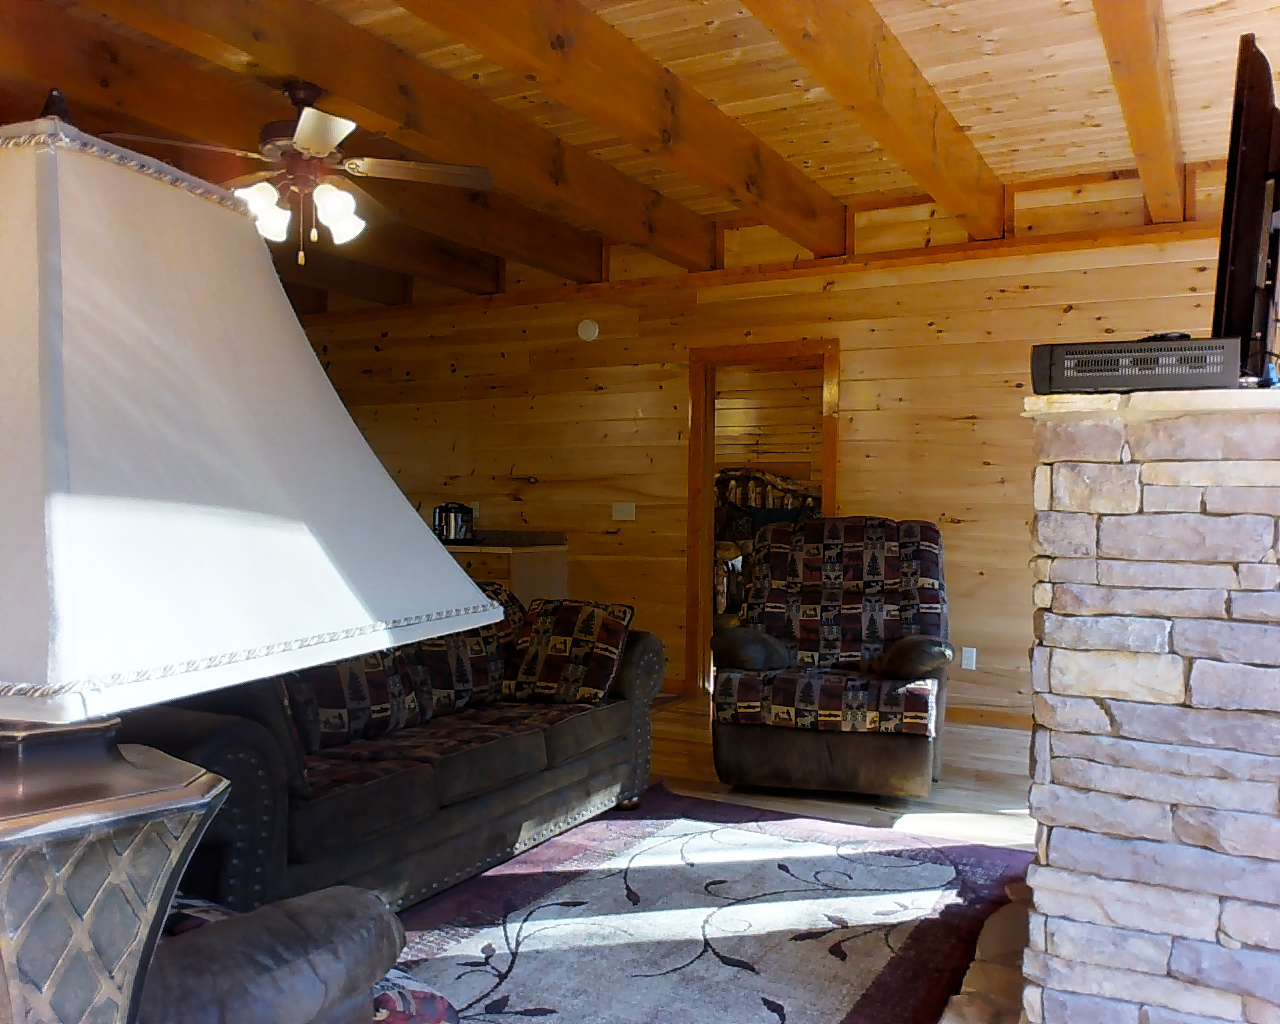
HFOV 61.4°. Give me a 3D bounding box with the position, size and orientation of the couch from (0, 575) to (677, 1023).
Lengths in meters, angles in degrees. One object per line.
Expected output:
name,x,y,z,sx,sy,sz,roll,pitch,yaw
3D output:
couch,-0.830,0.710,3.520,1.030,0.860,2.320,0,0,27

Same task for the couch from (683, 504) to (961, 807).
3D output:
couch,0.840,0.540,4.790,1.070,1.140,1.250,0,0,14
